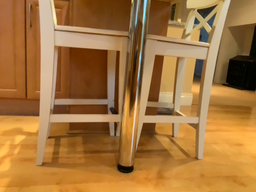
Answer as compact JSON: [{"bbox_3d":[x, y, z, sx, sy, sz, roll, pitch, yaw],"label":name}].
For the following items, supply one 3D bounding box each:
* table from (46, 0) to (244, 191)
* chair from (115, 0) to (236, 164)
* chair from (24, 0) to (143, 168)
[{"bbox_3d":[-0.110,-0.230,1.470,0.670,0.910,1.520,2,13,-15],"label":"table"},{"bbox_3d":[0.210,-0.140,1.210,0.440,0.910,0.410,2,13,-14],"label":"chair"},{"bbox_3d":[-0.230,-0.160,1.090,0.460,0.910,0.410,2,12,-13],"label":"chair"}]
